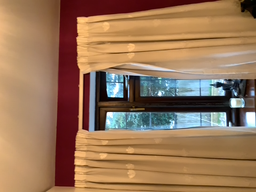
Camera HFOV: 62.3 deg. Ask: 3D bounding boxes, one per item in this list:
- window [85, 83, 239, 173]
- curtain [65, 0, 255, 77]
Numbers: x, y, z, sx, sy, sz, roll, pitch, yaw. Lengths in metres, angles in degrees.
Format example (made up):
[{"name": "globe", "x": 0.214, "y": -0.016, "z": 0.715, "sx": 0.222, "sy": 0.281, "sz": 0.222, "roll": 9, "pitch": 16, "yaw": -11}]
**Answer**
[{"name": "window", "x": 0.260, "y": 0.260, "z": 1.780, "sx": 0.080, "sy": 1.220, "sz": 0.720, "roll": 63, "pitch": -153, "yaw": -82}, {"name": "curtain", "x": 0.310, "y": -0.400, "z": 1.440, "sx": 0.160, "sy": 1.430, "sz": 0.500, "roll": 63, "pitch": -153, "yaw": -82}]
